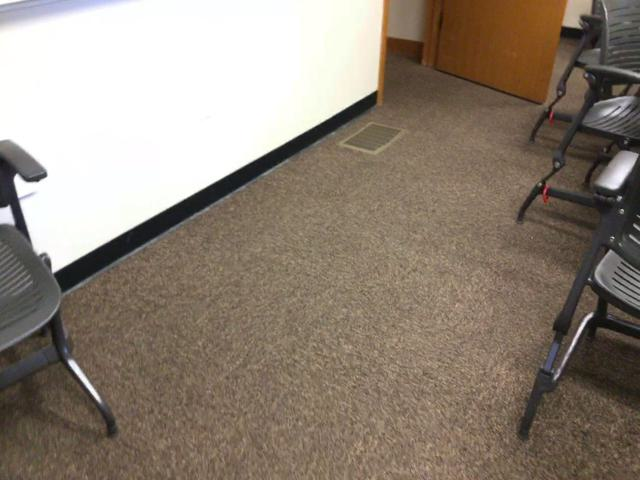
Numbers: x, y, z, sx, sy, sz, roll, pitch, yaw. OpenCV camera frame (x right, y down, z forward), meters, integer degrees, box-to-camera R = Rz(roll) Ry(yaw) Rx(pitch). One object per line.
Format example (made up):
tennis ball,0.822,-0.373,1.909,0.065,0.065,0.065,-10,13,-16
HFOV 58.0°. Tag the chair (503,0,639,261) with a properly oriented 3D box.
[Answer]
chair,1.150,-0.480,2.170,0.610,0.830,0.670,17,36,28

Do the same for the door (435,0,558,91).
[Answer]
door,0.990,-1.800,3.240,0.150,1.790,0.760,-25,34,-30
